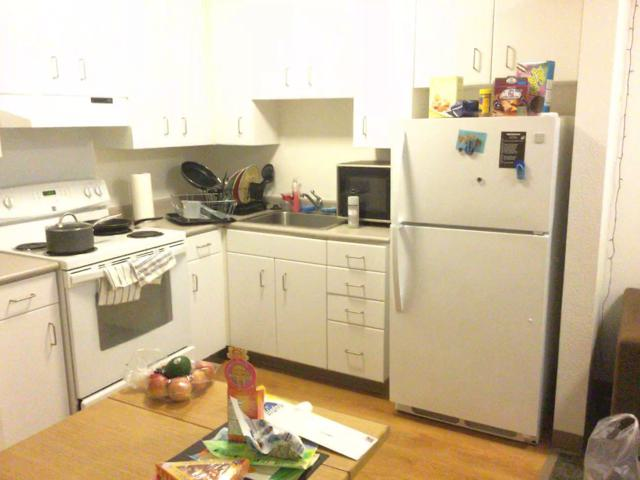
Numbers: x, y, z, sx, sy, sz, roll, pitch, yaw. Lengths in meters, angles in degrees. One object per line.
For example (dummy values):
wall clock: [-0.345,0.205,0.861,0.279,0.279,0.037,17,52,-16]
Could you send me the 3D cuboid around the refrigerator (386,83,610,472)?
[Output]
refrigerator: [0.860,0.100,2.760,0.770,1.550,0.770,5,13,35]
